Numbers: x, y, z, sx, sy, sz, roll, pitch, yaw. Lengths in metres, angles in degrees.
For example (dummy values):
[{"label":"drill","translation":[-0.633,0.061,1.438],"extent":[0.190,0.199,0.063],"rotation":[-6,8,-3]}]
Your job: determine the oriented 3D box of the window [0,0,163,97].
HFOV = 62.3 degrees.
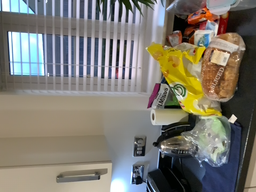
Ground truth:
[{"label":"window","translation":[-0.280,-0.410,1.350],"extent":[0.080,1.000,0.820],"rotation":[-136,48,-71]}]
